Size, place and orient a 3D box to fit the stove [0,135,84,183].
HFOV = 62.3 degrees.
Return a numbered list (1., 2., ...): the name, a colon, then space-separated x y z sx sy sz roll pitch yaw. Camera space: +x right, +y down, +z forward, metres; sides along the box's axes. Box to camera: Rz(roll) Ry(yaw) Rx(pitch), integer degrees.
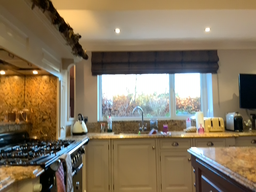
1. stove: -0.810 0.470 1.800 0.630 0.120 1.230 -1 -4 -1
